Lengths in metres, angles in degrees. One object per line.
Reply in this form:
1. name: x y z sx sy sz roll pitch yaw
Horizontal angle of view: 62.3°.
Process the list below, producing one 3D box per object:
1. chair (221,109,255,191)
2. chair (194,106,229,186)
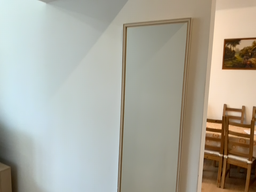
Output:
1. chair: 1.570 0.760 3.010 0.360 1.060 0.470 5 8 24
2. chair: 1.280 0.720 3.240 0.370 1.060 0.470 5 8 24
